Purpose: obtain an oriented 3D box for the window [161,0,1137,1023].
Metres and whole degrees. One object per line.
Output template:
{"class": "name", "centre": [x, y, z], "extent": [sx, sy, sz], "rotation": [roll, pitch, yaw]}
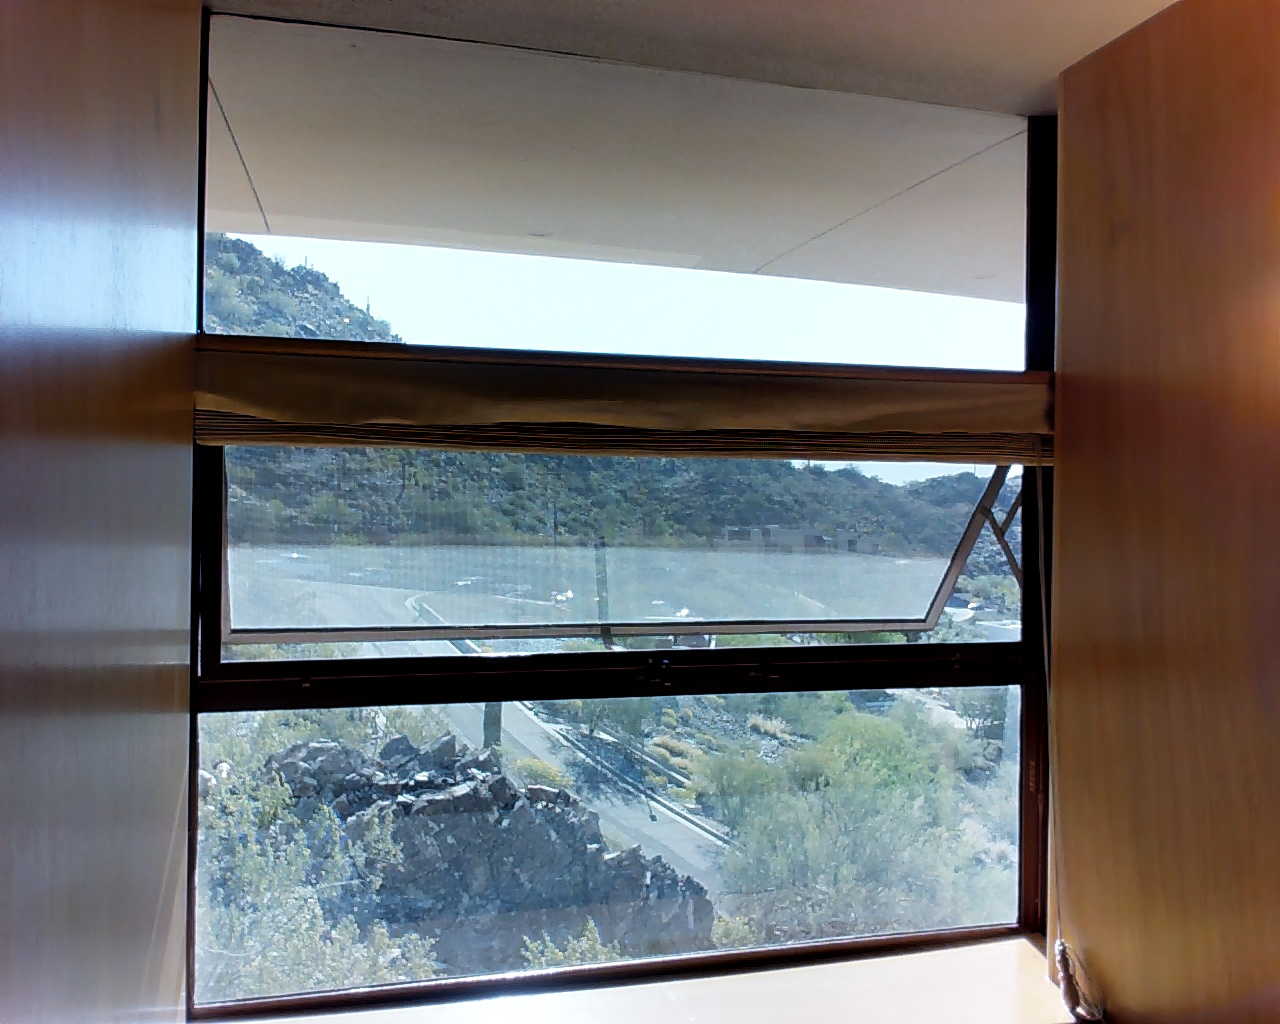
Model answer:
{"class": "window", "centre": [0.060, 0.070, 1.360], "extent": [1.190, 1.260, 0.180], "rotation": [1, 0, -16]}
